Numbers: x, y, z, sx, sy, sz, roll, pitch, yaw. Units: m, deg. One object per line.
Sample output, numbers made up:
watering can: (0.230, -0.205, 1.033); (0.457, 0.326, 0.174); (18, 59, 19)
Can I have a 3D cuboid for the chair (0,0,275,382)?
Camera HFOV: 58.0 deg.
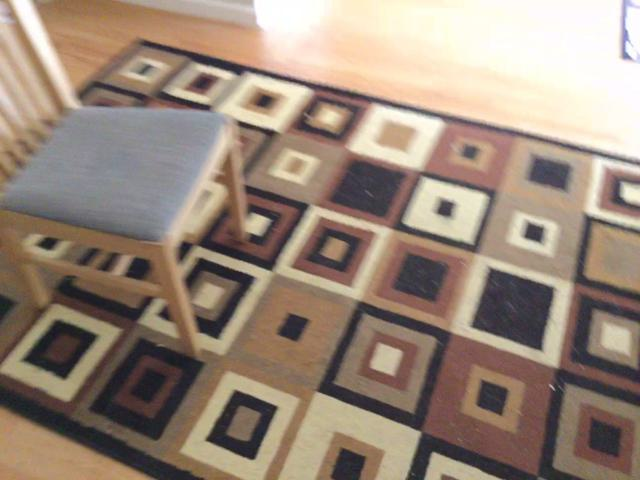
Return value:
chair: (-0.520, -0.200, 1.280); (0.630, 0.940, 0.500); (11, 51, 11)
